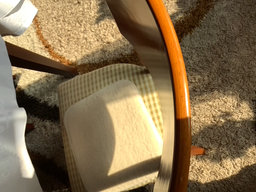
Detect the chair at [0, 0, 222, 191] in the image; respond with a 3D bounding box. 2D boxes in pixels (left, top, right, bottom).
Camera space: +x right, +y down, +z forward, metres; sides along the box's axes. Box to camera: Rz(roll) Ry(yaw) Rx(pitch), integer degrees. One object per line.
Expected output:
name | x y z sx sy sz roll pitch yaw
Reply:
chair | -0.010 0.080 0.690 0.490 0.920 0.410 -14 77 20
